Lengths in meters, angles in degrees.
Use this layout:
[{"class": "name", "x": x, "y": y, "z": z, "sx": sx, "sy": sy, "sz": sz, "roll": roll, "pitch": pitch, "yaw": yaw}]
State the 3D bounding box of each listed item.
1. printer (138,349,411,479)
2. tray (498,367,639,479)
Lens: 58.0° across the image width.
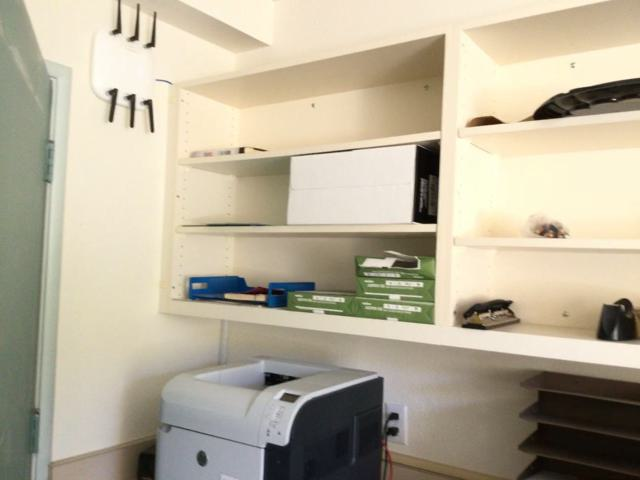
[{"class": "printer", "x": -0.100, "y": 0.540, "z": 1.510, "sx": 0.440, "sy": 0.410, "sz": 0.550, "roll": 2, "pitch": -4, "yaw": 36}, {"class": "tray", "x": 0.600, "y": 0.550, "z": 1.300, "sx": 0.320, "sy": 0.450, "sz": 0.240, "roll": 2, "pitch": -4, "yaw": 36}]
